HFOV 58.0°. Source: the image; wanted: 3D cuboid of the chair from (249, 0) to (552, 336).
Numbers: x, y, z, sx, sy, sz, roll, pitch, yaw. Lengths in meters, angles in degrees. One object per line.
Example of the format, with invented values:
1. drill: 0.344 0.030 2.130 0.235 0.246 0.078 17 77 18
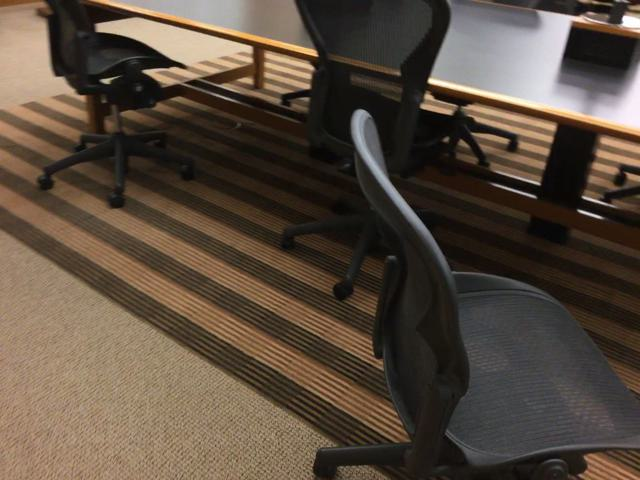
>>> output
1. chair: 0.240 -0.390 2.010 0.690 1.060 0.670 24 36 29

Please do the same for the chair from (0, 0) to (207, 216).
1. chair: -0.920 -0.760 2.470 0.550 1.040 0.620 24 36 29

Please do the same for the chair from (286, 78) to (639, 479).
1. chair: 0.310 0.240 1.130 0.690 0.940 0.520 0 32 -7
